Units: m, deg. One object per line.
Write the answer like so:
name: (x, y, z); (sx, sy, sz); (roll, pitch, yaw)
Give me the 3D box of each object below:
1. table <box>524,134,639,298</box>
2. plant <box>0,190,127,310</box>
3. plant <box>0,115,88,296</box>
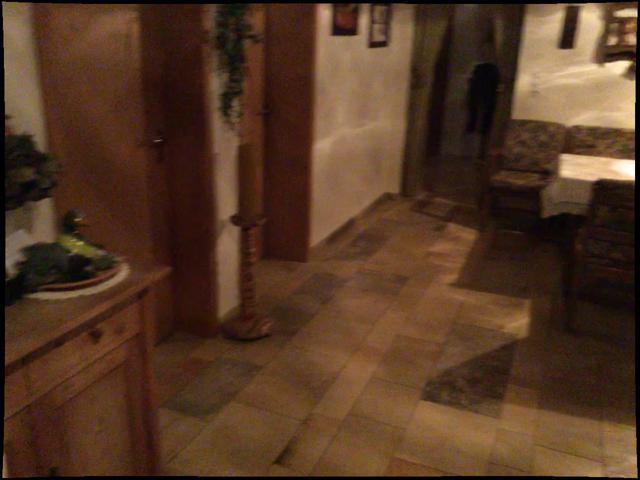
table: (2.228, -0.140, 3.660); (1.589, 0.751, 0.990); (10, 22, 22)
plant: (-0.729, 0.010, 1.530); (0.240, 0.180, 0.330); (10, 22, 22)
plant: (-0.869, -0.110, 1.610); (0.280, 0.420, 0.240); (10, 22, 22)
